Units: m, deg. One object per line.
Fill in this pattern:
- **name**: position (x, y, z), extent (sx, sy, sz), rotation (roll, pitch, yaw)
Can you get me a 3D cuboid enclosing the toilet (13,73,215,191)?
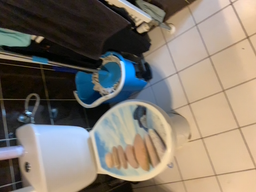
- **toilet**: position (-0.040, 0.230, 1.090), extent (0.640, 0.740, 0.380), rotation (-26, 73, 35)
